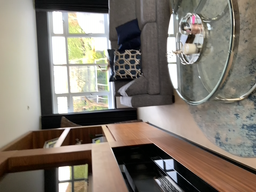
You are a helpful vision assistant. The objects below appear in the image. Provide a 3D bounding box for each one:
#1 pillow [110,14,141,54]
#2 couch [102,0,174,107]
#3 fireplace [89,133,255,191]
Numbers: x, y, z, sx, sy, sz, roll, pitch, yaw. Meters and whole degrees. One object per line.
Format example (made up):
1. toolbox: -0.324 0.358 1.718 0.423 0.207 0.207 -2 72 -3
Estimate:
1. pillow: -0.040 -0.950 3.320 0.190 0.440 0.500 -4 90 47
2. couch: 0.040 -1.530 3.360 1.160 0.800 3.320 180 88 -79
3. fireplace: 0.300 0.800 1.750 1.980 1.150 0.510 -174 81 -78
